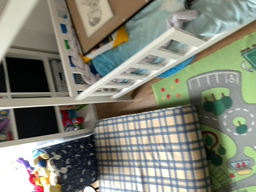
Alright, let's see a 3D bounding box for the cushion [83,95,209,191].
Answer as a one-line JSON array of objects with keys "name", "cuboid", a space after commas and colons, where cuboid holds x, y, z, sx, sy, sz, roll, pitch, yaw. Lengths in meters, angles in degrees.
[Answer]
[{"name": "cushion", "cuboid": [0.060, 0.470, 1.570, 0.960, 0.150, 0.790, -13, 83, 41]}]
